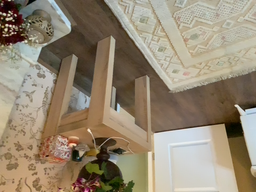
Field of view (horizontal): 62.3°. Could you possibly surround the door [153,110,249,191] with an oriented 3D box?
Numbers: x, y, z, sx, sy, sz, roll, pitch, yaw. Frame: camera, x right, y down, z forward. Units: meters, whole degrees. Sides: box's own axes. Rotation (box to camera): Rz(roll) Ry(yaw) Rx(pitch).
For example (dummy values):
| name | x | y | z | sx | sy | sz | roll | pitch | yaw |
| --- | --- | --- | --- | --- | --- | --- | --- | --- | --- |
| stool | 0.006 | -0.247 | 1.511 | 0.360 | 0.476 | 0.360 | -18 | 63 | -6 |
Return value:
| name | x | y | z | sx | sy | sz | roll | pitch | yaw |
| --- | --- | --- | --- | --- | --- | --- | --- | --- | --- |
| door | 0.650 | 1.140 | 1.830 | 0.830 | 2.060 | 0.120 | -13 | 146 | 24 |
